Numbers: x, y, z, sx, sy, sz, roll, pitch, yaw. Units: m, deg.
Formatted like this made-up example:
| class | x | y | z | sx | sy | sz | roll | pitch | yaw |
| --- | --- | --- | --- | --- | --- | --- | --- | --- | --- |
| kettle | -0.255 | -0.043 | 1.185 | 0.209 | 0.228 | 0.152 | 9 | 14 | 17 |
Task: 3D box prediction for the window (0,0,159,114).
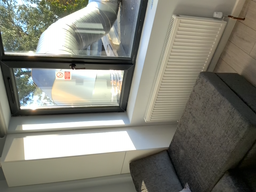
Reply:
| class | x | y | z | sx | sy | sz | roll | pitch | yaw |
| --- | --- | --- | --- | --- | --- | --- | --- | --- | --- |
| window | -0.560 | -0.410 | 2.160 | 0.190 | 1.460 | 1.440 | -108 | 23 | -46 |
